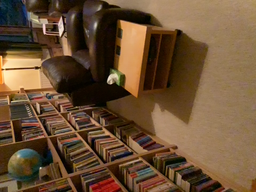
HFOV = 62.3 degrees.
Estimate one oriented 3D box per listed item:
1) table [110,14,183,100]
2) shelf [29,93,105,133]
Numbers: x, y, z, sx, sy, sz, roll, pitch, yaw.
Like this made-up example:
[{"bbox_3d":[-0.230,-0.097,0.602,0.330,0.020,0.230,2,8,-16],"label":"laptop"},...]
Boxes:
[{"bbox_3d":[0.140,-0.390,2.050,0.490,0.390,0.680,39,128,50],"label":"table"},{"bbox_3d":[-1.030,0.230,3.540,0.810,1.020,0.340,21,114,57],"label":"shelf"}]
